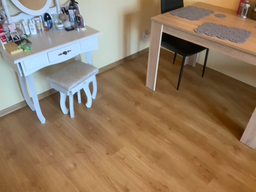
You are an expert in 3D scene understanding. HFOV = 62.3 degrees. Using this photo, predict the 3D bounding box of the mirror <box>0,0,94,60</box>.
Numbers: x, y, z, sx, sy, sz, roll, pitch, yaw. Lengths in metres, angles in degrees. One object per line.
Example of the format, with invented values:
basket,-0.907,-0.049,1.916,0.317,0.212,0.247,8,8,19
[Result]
mirror,-0.700,-0.770,1.600,0.790,0.710,0.300,-31,48,-34
